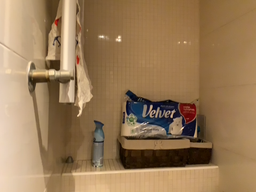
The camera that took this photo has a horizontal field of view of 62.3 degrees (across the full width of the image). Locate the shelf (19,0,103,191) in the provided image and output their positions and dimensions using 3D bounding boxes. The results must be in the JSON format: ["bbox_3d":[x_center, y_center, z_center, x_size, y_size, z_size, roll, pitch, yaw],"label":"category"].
[{"bbox_3d":[-0.210,-0.230,0.860,0.150,1.260,0.900,1,-1,-11],"label":"shelf"}]
